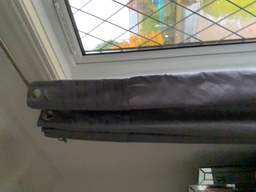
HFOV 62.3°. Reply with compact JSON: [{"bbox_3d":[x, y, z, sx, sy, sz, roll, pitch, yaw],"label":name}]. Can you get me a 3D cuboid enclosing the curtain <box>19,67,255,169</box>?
[{"bbox_3d":[0.590,0.100,0.990,0.390,2.010,0.270,81,-173,-49],"label":"curtain"}]
